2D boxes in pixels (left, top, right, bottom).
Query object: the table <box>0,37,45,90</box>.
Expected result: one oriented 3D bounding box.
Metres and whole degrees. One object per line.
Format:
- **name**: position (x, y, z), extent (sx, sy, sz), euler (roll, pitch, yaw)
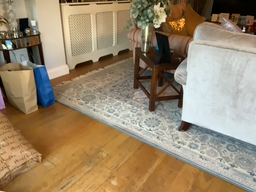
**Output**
- **table**: position (-1.310, -0.410, 2.550), extent (0.240, 0.490, 0.480), euler (20, 32, 30)
